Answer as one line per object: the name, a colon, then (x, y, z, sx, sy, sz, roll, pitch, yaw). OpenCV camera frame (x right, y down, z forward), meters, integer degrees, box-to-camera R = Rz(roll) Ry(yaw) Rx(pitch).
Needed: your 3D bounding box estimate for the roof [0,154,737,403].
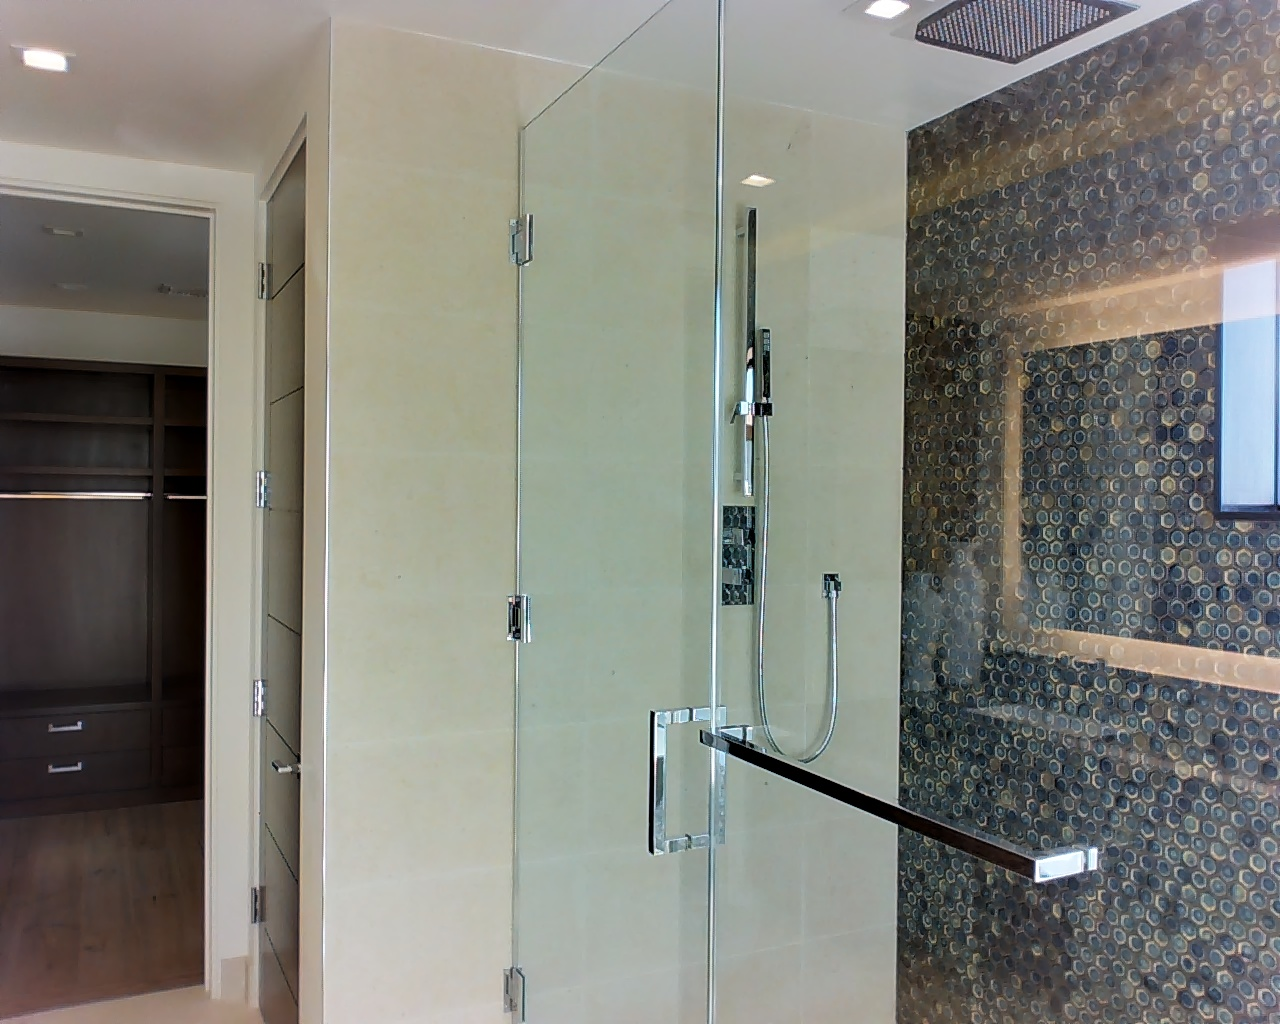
roof: (-1.520, -0.870, 4.950, 2.800, 0.360, 2.910, 0, 0, -26)
